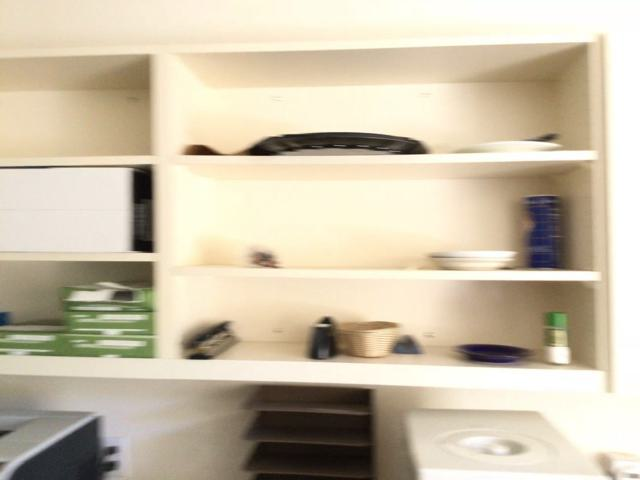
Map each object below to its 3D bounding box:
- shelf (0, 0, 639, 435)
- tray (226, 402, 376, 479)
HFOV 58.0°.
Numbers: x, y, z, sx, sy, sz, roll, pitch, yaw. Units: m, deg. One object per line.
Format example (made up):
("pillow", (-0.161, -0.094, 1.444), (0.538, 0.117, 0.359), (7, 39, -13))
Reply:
("shelf", (-0.310, -0.070, 1.400), (2.030, 0.810, 0.440), (2, -1, 7))
("tray", (-0.040, 0.630, 1.450), (0.340, 0.370, 0.220), (2, -1, 7))
